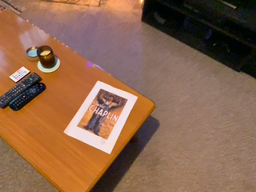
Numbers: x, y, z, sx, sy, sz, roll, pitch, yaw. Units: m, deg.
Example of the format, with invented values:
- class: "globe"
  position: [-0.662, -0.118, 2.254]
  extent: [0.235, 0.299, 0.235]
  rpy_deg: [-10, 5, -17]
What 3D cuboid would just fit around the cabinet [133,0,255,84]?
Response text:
- class: "cabinet"
  position: [0.650, -0.630, 1.670]
  extent: [1.160, 0.400, 0.410]
  rpy_deg: [34, 61, 15]
